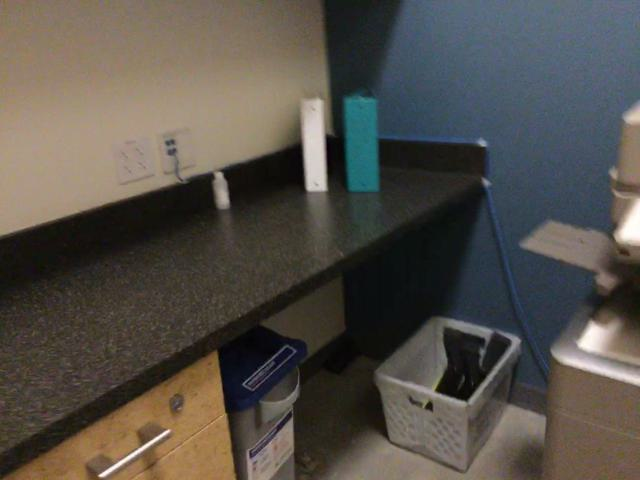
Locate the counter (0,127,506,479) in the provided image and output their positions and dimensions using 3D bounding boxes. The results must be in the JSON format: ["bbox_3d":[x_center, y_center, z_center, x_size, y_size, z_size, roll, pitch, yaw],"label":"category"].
[{"bbox_3d":[-0.860,0.310,0.670,0.690,0.310,3.860,11,24,37],"label":"counter"}]
